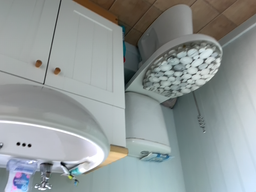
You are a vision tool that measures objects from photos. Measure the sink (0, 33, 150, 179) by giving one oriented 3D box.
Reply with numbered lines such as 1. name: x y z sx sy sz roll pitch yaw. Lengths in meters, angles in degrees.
1. sink: -0.340 0.100 0.710 0.590 0.200 0.550 19 142 -32

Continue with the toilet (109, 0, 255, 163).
1. toilet: 0.260 -0.100 1.250 0.440 0.770 0.700 19 142 -32
